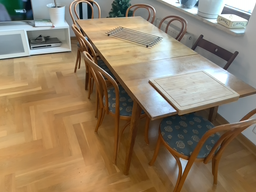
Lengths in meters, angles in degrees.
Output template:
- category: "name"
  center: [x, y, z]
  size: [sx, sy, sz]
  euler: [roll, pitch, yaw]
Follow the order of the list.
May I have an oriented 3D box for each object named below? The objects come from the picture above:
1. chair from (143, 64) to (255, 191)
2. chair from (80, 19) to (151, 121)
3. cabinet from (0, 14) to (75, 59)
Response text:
- category: "chair"
  center: [0.450, 0.310, 1.380]
  size: [0.380, 0.830, 0.530]
  euler: [-13, 40, -24]
- category: "chair"
  center: [-0.150, -0.250, 2.060]
  size: [0.480, 0.830, 0.410]
  euler: [-12, 39, -23]
- category: "cabinet"
  center: [-2.000, -0.780, 2.870]
  size: [2.410, 0.420, 0.490]
  euler: [-11, 39, -22]
